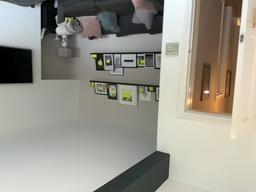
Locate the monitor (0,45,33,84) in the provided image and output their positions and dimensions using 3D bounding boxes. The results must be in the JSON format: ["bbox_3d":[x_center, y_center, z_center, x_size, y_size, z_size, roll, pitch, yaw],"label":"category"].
[{"bbox_3d":[-2.400,-0.610,4.110,0.070,0.690,1.120,7,-178,31],"label":"monitor"}]

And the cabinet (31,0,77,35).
[{"bbox_3d":[-1.780,-1.970,5.170,0.510,0.750,0.930,7,-172,32],"label":"cabinet"}]

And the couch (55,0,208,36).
[{"bbox_3d":[-0.090,-1.780,4.340,3.100,0.790,0.980,7,-172,33],"label":"couch"}]
